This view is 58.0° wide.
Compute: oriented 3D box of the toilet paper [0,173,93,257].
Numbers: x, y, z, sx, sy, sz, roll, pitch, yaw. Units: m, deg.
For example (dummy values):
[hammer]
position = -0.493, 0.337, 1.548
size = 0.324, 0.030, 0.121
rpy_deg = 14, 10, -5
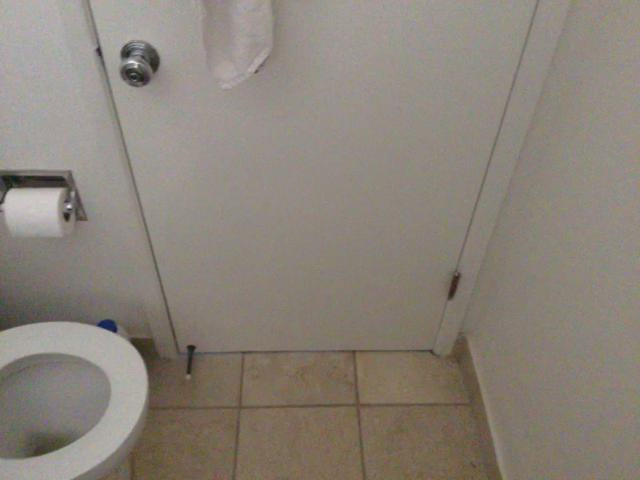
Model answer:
[toilet paper]
position = -0.570, -0.050, 1.180
size = 0.150, 0.130, 0.110
rpy_deg = -1, 46, -1
